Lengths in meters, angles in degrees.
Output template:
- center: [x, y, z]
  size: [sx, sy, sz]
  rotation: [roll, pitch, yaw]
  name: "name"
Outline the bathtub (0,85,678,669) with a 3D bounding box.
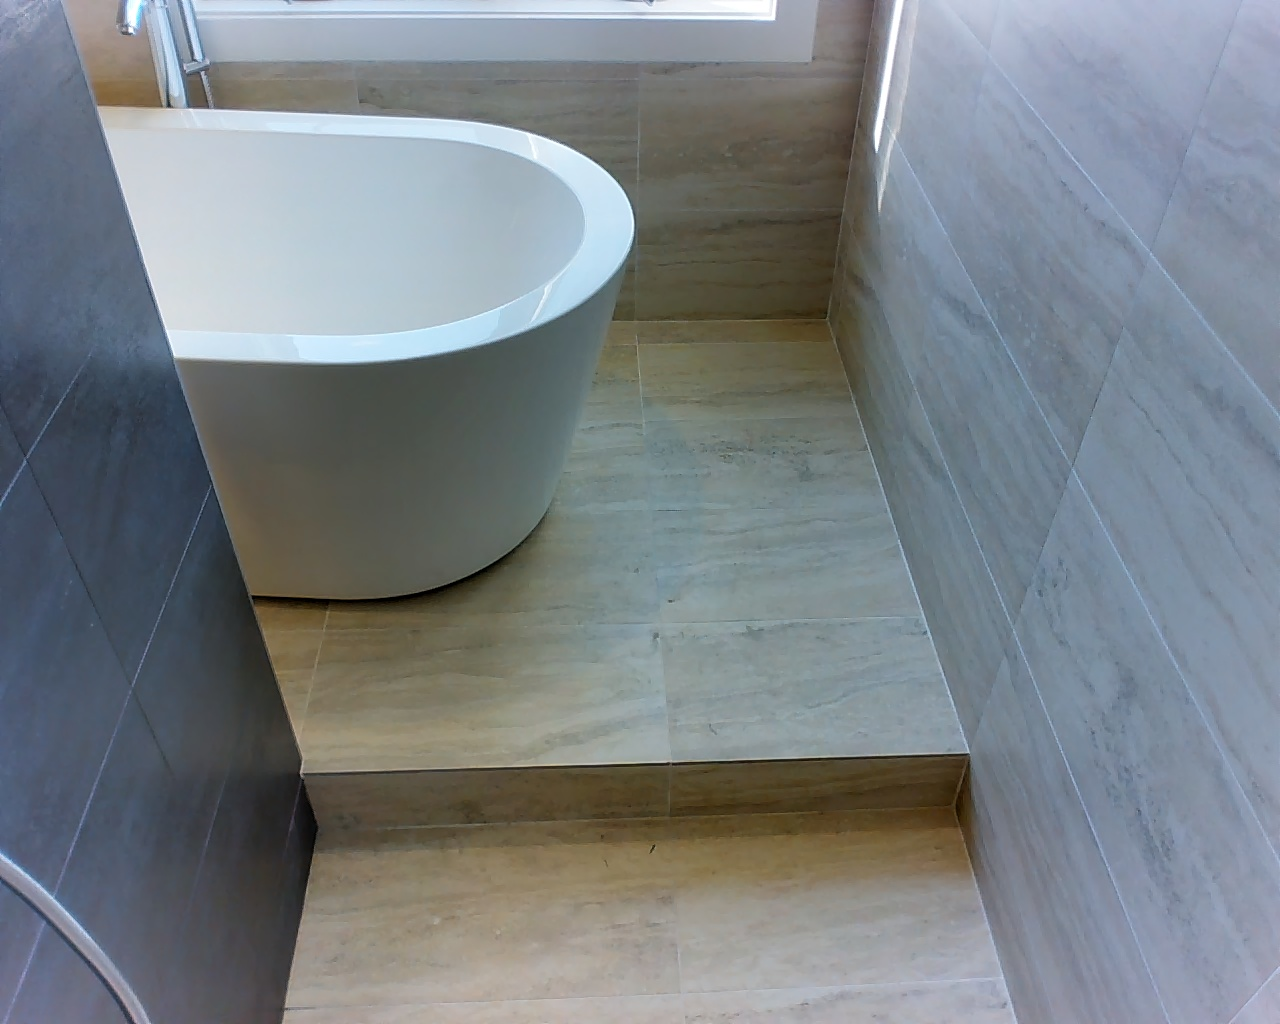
- center: [-0.890, -0.300, 2.000]
  size: [1.890, 0.620, 0.920]
  rotation: [2, 42, 1]
  name: "bathtub"
